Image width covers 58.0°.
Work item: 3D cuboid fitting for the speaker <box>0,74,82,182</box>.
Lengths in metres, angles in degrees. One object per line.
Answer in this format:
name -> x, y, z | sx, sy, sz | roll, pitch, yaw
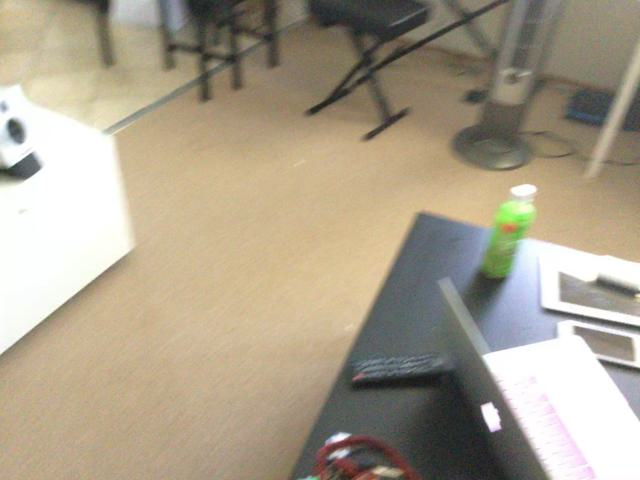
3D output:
speaker -> -0.760, -0.290, 1.490 | 0.200, 0.190, 0.130 | 23, 47, 25
